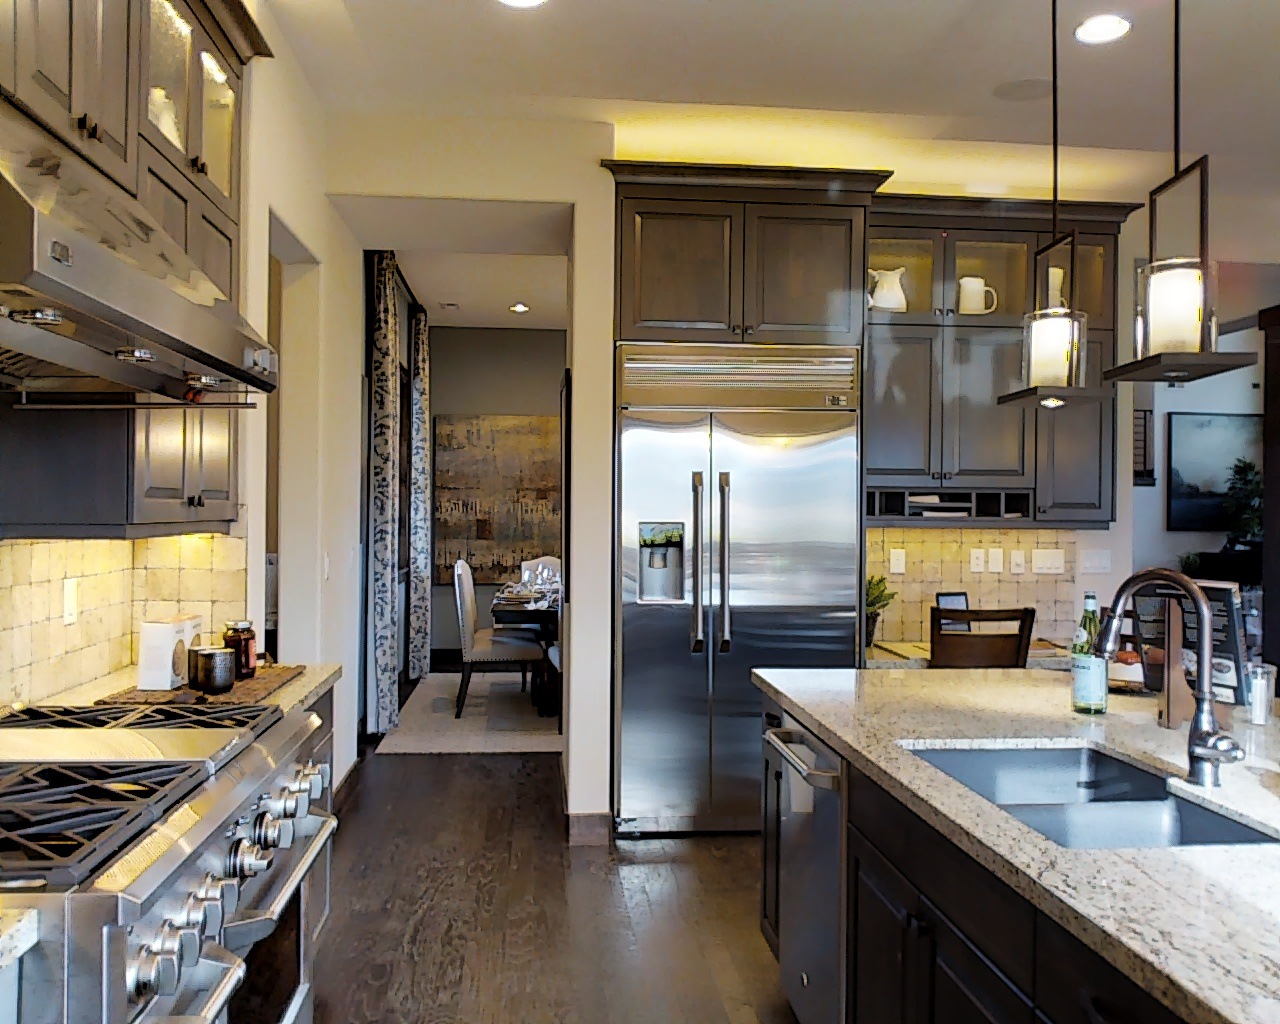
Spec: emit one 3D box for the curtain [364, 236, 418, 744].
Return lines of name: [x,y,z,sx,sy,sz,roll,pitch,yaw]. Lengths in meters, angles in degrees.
curtain: [-1.530,-0.130,6.610,0.220,2.990,0.600,1,0,-6]

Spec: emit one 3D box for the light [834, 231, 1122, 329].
light: [1.610,-1.100,5.130,1.290,0.340,0.340,1,0,-8]
